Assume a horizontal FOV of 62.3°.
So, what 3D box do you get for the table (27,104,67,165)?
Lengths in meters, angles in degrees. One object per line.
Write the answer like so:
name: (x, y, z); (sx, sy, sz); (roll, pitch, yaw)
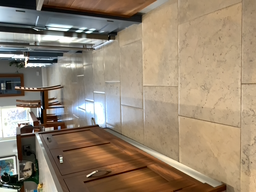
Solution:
table: (-2.440, 0.970, 6.190); (2.070, 0.790, 1.230); (7, 99, 62)
